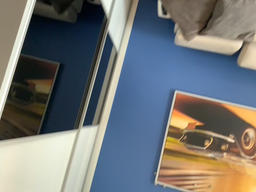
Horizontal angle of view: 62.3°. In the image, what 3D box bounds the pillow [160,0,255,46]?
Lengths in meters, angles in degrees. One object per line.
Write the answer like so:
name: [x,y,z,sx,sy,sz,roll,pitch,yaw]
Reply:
pillow: [0.680,-0.710,1.630,0.770,0.350,0.440,14,175,5]
